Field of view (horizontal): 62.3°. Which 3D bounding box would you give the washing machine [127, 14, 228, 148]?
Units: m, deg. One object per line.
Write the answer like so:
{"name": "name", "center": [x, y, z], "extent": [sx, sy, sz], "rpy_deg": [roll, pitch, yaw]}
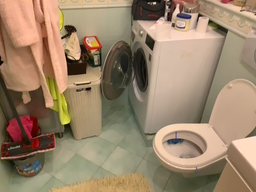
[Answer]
{"name": "washing machine", "center": [0.330, -0.140, 1.880], "extent": [0.510, 0.950, 0.620], "rpy_deg": [-7, 37, -13]}
